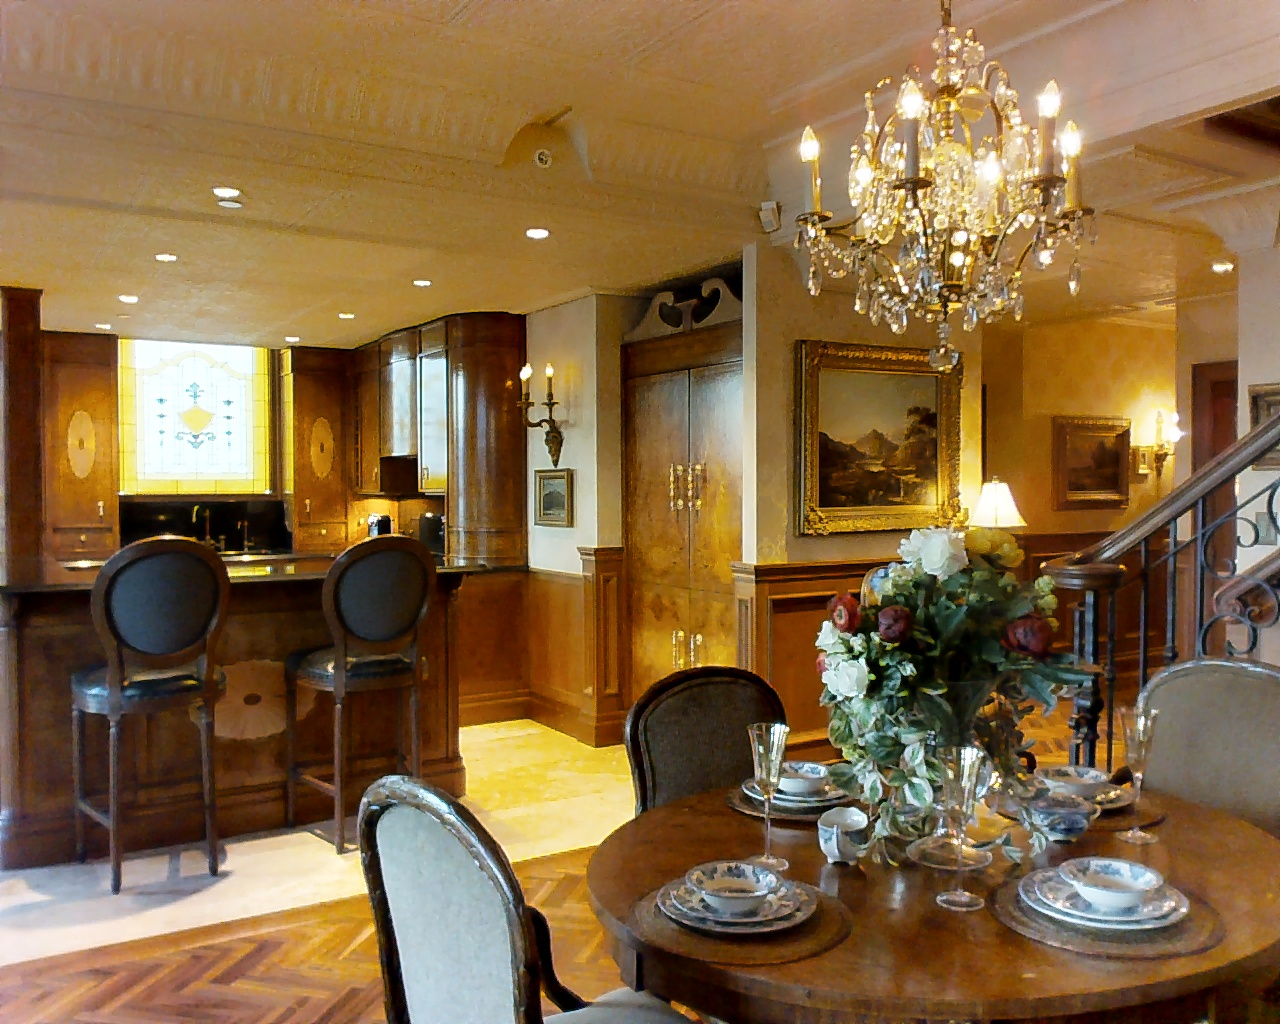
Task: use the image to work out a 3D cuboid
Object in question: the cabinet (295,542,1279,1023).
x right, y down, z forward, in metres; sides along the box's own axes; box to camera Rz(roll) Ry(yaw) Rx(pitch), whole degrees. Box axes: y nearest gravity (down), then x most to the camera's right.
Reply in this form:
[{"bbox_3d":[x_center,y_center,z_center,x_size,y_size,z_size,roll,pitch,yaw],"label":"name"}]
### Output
[{"bbox_3d":[1.090,0.680,1.630,2.590,1.110,2.260,-1,1,-32],"label":"cabinet"}]
